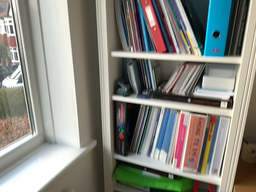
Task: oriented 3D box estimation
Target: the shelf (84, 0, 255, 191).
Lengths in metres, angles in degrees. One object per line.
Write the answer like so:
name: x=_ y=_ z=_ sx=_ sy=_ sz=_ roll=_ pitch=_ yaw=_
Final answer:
shelf: x=0.200 y=0.080 z=1.120 sx=0.680 sy=1.900 sz=0.370 roll=7 pitch=20 yaw=21
